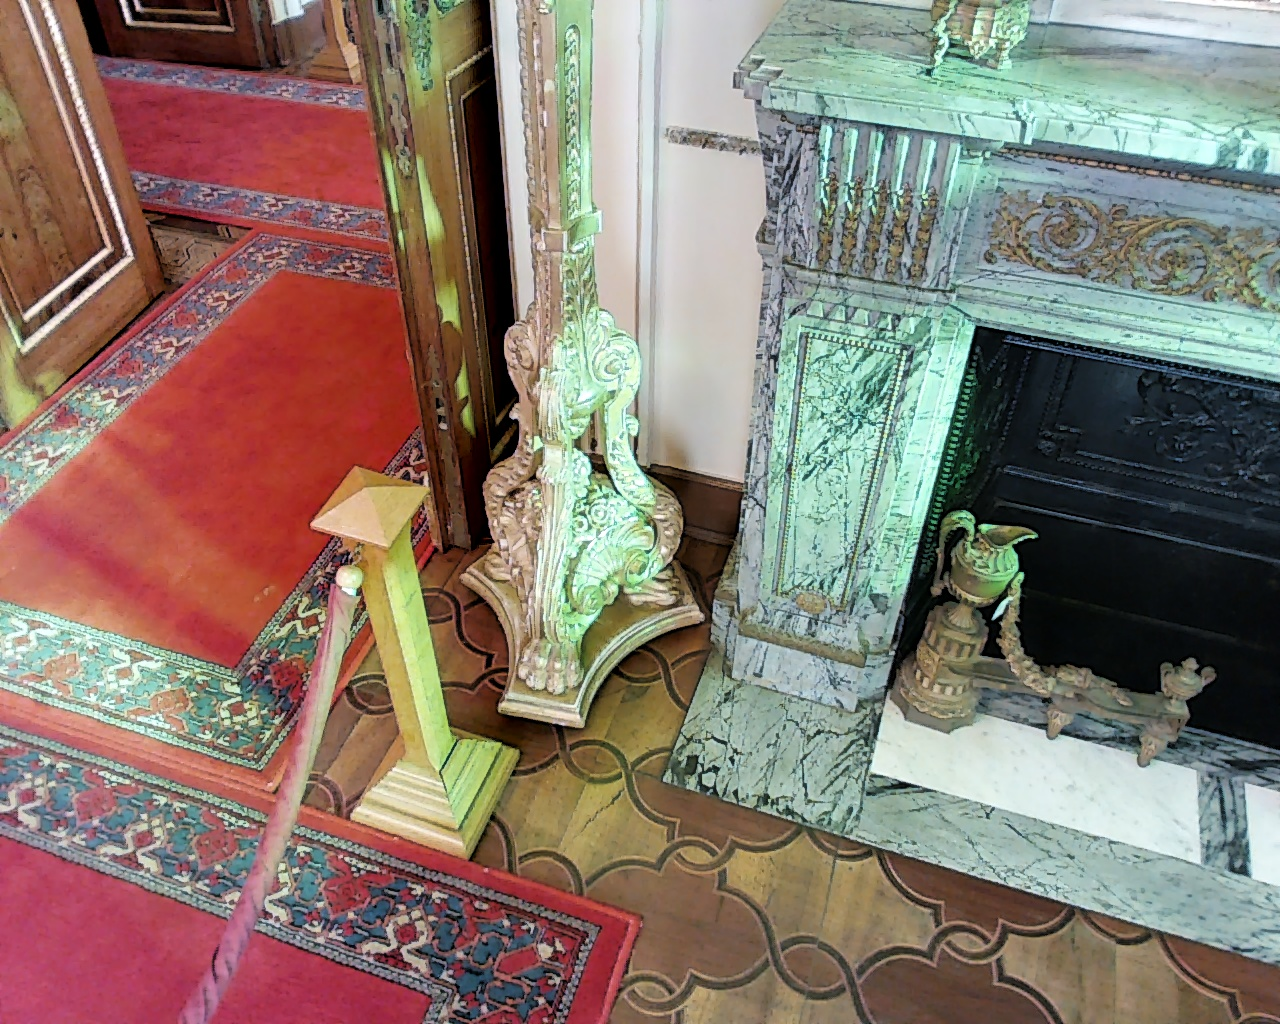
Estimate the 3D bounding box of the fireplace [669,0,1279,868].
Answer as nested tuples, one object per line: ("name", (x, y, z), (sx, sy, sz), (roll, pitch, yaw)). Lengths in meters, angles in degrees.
("fireplace", (1.130, 0.030, 1.640), (2.120, 1.230, 0.400), (13, 44, 14))
